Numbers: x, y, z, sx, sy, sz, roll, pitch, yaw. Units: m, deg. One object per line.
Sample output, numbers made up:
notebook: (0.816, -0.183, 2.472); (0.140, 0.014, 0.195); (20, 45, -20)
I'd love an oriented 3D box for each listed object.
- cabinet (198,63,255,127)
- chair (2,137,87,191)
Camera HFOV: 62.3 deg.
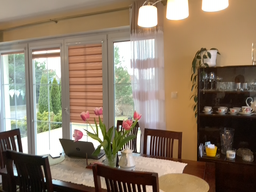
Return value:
cabinet: (1.410, -0.020, 2.180); (1.270, 0.610, 0.450); (1, 4, 24)
chair: (-0.710, 0.920, 1.900); (0.460, 0.960, 0.520); (1, 4, 21)
